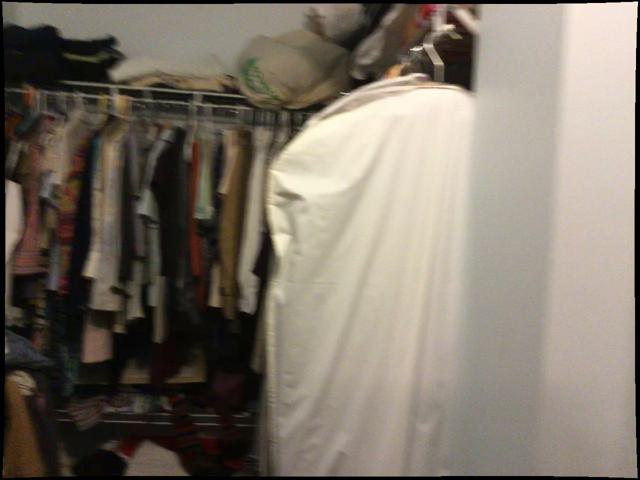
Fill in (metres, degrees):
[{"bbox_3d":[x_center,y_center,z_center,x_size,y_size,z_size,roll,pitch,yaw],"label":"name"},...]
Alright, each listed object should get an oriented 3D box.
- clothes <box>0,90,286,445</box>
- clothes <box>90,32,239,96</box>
[{"bbox_3d":[-0.699,0.070,2.140,1.099,1.111,0.630,2,7,-2],"label":"clothes"},{"bbox_3d":[-0.579,-0.671,2.240,0.490,0.160,0.350,2,7,-2],"label":"clothes"}]
